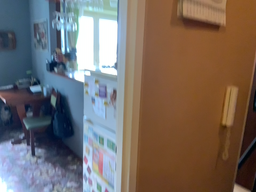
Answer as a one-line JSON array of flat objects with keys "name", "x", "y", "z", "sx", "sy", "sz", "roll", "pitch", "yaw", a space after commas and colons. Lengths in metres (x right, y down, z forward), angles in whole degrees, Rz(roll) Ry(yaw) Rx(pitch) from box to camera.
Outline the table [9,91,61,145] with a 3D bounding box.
[{"name": "table", "x": -1.680, "y": 0.330, "z": 3.790, "sx": 0.600, "sy": 0.630, "sz": 0.950, "roll": -8, "pitch": 16, "yaw": -36}]
